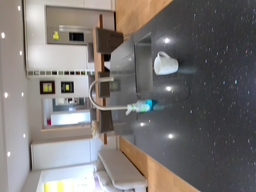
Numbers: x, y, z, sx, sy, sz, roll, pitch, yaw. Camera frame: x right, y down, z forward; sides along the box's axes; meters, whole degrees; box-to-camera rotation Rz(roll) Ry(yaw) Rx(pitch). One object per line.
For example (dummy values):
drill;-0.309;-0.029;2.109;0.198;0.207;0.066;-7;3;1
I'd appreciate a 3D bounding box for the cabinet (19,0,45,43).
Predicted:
cabinet;-2.470;-1.960;5.480;0.650;0.510;0.990;-176;84;-72

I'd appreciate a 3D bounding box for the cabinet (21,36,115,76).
cabinet;-1.580;-1.040;5.800;0.640;2.300;0.940;-176;84;-72

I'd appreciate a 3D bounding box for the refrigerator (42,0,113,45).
refrigerator;-1.370;-1.980;5.840;0.650;1.790;0.920;-176;84;-72

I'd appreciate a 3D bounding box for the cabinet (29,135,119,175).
cabinet;-1.430;1.570;5.850;0.600;2.280;0.660;-174;82;-72
